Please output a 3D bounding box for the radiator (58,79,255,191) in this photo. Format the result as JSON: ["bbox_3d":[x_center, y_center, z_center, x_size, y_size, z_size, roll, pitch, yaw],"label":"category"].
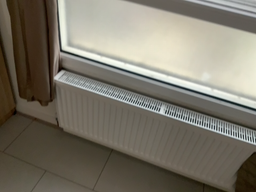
[{"bbox_3d":[0.080,0.260,1.230,1.020,0.480,0.060,19,42,10],"label":"radiator"}]
